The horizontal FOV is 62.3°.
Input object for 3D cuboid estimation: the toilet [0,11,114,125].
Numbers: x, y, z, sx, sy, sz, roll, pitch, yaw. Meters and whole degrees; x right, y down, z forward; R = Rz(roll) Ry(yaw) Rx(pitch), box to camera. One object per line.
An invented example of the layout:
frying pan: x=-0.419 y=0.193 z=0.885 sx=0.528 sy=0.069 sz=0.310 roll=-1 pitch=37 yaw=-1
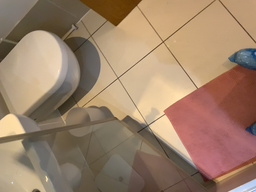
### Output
toilet: x=-0.500 y=-0.140 z=1.400 sx=0.560 sy=0.490 sz=0.370 roll=-35 pitch=78 yaw=18

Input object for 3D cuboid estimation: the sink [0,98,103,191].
sink: x=-0.390 y=0.400 z=0.850 sx=0.480 sy=0.200 sz=0.620 roll=-35 pitch=78 yaw=18
